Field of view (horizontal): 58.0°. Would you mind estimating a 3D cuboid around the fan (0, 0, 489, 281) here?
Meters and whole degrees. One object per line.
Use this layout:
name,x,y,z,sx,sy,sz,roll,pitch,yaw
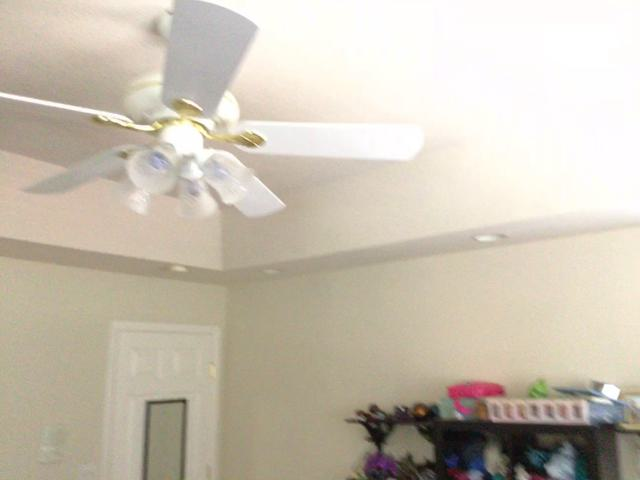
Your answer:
fan,-0.400,-0.220,1.660,1.310,0.320,1.210,-12,-20,37
